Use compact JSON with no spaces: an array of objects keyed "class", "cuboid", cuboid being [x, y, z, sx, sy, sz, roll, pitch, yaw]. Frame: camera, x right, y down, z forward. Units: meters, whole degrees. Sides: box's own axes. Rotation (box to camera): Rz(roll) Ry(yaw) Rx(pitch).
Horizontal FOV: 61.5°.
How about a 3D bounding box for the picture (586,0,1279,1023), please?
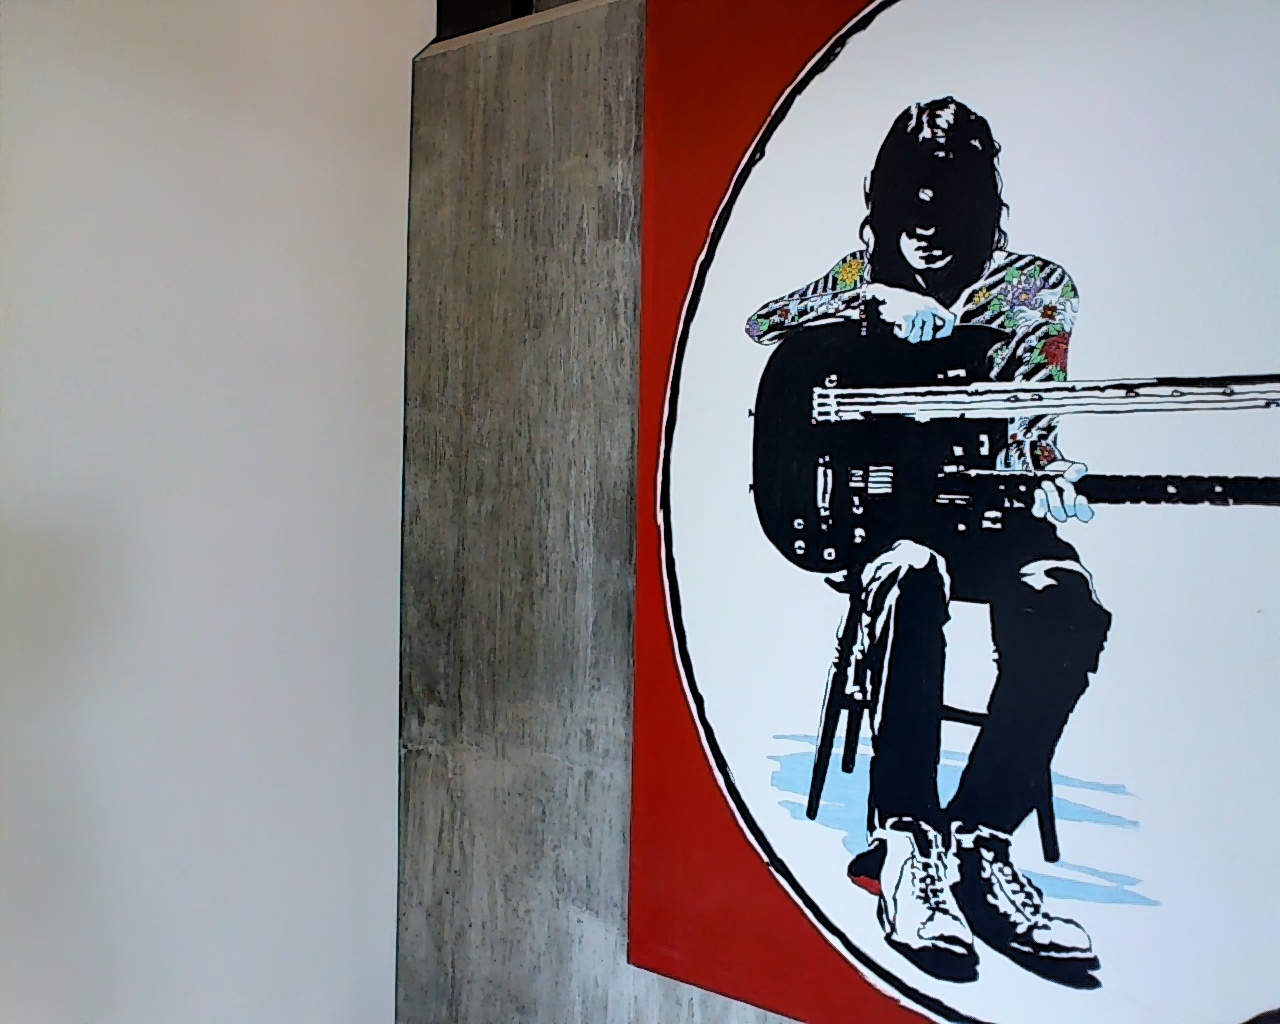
[{"class":"picture","cuboid":[0.500,-0.050,1.350,1.340,1.570,0.090,1,1,35]}]
